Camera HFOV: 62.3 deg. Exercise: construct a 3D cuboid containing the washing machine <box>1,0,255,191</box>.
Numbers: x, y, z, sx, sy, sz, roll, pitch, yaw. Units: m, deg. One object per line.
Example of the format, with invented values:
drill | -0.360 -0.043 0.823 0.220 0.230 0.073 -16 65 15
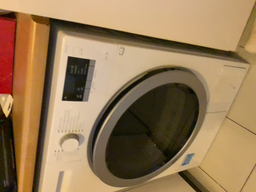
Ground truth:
washing machine | -0.050 0.000 1.010 0.670 0.900 0.620 40 122 47
